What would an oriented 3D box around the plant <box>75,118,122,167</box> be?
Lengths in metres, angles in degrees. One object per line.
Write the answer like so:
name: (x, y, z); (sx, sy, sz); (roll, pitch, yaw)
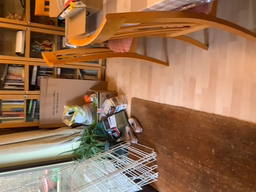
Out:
plant: (-0.380, 0.550, 2.660); (0.450, 0.420, 0.450); (12, 101, 57)
